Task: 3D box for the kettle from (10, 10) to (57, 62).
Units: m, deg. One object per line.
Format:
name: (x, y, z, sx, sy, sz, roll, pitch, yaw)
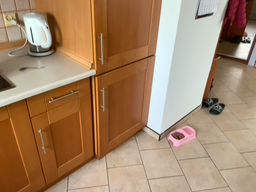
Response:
kettle: (-0.650, -0.420, 1.460, 0.310, 0.260, 0.140, 29, 40, 35)
